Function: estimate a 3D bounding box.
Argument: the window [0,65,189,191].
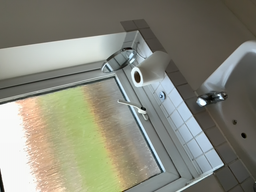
[{"bbox_3d":[-0.340,0.220,0.790,0.600,1.020,0.070,61,152,25],"label":"window"}]

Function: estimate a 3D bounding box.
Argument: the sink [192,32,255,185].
[{"bbox_3d":[0.480,0.060,0.680,0.450,0.210,0.300,62,152,24],"label":"sink"}]

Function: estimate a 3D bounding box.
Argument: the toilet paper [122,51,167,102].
[{"bbox_3d":[0.060,-0.080,0.880,0.120,0.100,0.160,62,153,24],"label":"toilet paper"}]
